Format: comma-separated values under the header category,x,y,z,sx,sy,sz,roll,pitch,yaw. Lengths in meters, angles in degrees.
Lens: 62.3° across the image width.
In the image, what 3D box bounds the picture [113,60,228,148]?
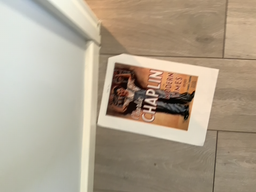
category,x,y,z,sx,sy,sz,roll,pitch,yaw
picture,0.110,0.020,0.580,0.270,0.030,0.190,10,94,5
